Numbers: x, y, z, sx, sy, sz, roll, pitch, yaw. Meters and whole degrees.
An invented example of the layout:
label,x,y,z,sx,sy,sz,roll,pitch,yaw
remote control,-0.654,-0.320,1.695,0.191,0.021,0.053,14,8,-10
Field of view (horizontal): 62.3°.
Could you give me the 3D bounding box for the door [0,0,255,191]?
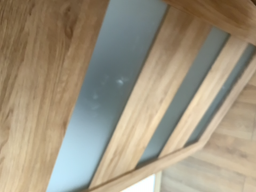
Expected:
label,x,y,z,sx,sy,sz,roll,pitch,yaw
door,-0.100,0.050,0.540,0.140,1.970,0.930,41,118,32
